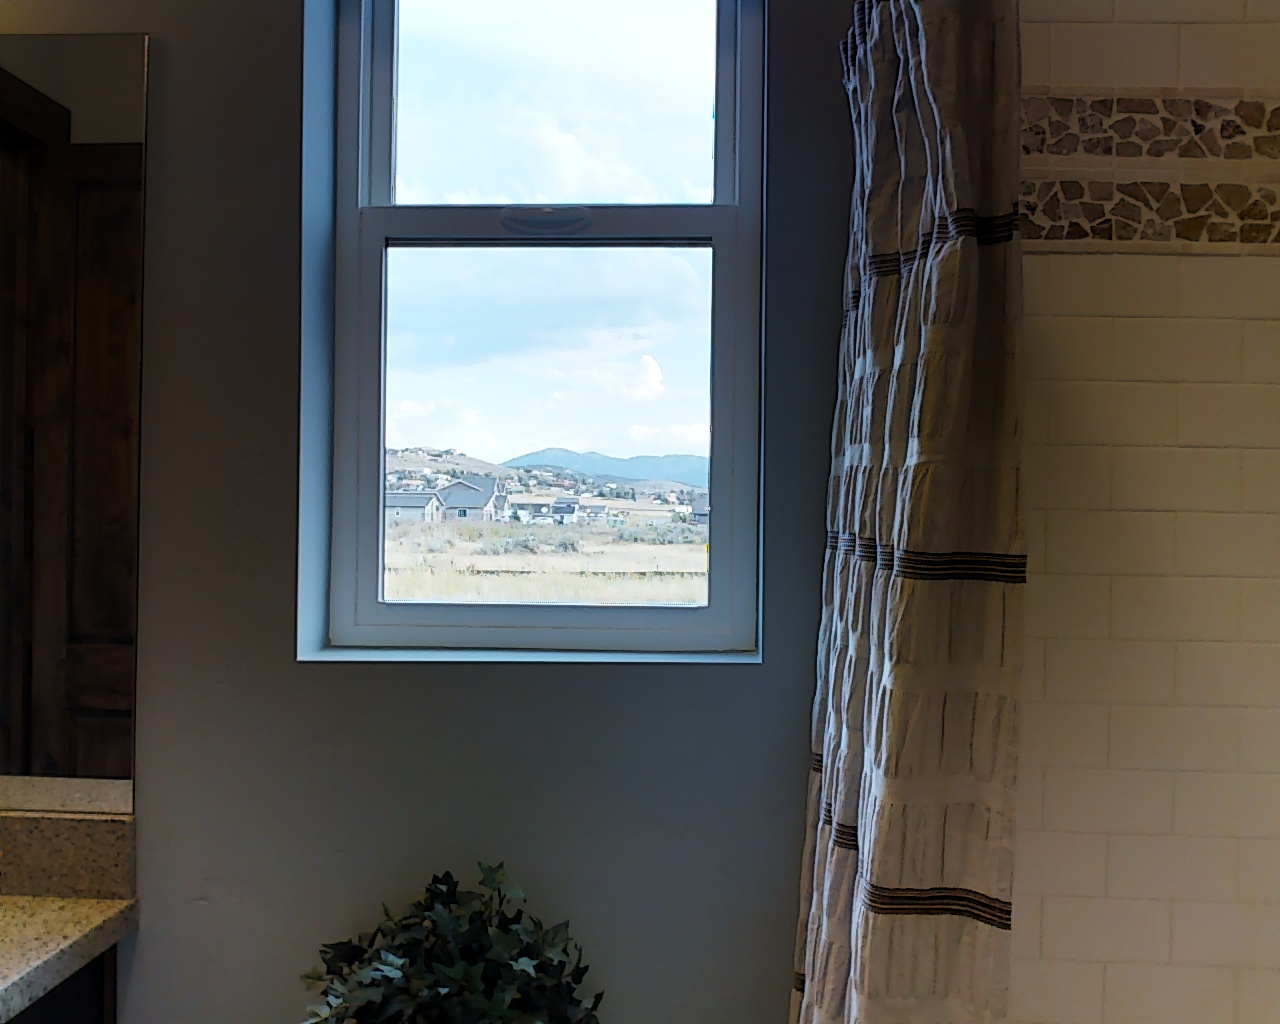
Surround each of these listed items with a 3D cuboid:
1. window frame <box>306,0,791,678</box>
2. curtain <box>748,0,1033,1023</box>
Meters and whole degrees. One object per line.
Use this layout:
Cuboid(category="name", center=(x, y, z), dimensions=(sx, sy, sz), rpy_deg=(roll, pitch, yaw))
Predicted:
Cuboid(category="window frame", center=(-0.110, -0.300, 1.410), dimensions=(0.590, 1.000, 0.190), rpy_deg=(0, 0, 2))
Cuboid(category="curtain", center=(0.200, 0.350, 1.040), dimensions=(0.150, 1.750, 0.510), rpy_deg=(0, 4, 2))
